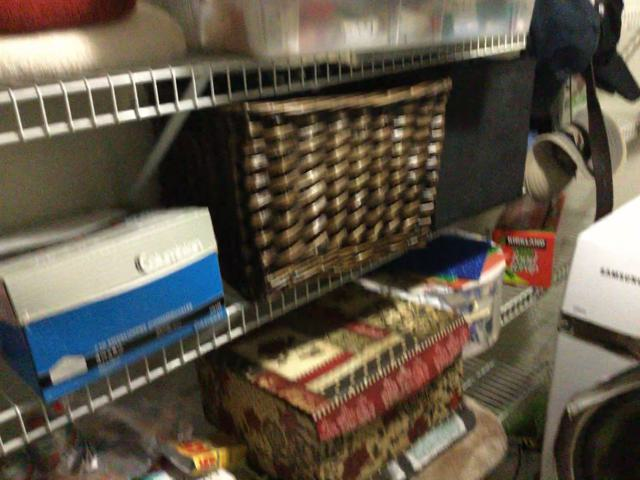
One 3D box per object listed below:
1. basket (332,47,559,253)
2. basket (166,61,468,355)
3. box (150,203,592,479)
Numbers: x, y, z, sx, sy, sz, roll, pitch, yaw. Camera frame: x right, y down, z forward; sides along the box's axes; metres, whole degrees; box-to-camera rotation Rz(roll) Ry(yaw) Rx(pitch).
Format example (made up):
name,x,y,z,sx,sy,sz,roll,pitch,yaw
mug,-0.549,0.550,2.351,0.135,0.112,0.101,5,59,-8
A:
name,x,y,z,sx,sy,sz,roll,pitch,yaw
basket,0.250,-0.200,1.140,0.340,0.310,0.270,-21,26,-38
basket,0.030,-0.080,0.850,0.440,0.310,0.140,-21,26,-38
box,0.150,0.170,1.190,0.830,0.230,0.430,-21,26,-38
